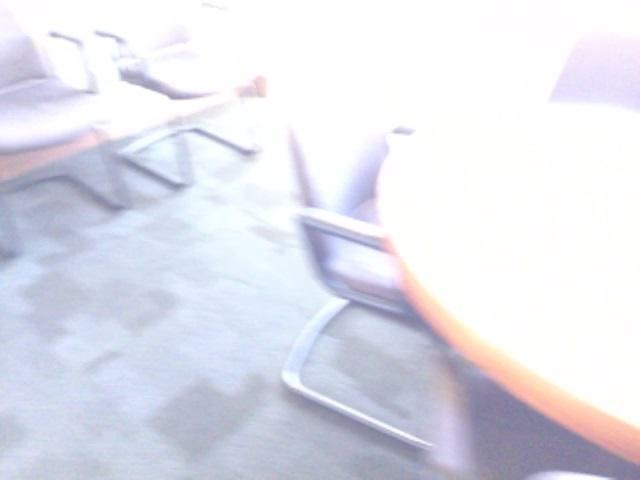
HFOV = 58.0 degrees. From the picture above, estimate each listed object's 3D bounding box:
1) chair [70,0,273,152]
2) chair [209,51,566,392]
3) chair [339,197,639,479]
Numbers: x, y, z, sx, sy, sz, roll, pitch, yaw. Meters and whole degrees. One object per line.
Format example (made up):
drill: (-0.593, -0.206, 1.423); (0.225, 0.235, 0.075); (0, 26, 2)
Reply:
chair: (-0.620, -0.840, 2.520); (0.560, 0.600, 0.590); (26, 42, 31)
chair: (0.170, -0.110, 1.470); (0.560, 0.480, 0.640); (26, 42, 31)
chair: (0.400, 0.430, 0.960); (0.670, 0.800, 0.610); (0, 35, -2)
